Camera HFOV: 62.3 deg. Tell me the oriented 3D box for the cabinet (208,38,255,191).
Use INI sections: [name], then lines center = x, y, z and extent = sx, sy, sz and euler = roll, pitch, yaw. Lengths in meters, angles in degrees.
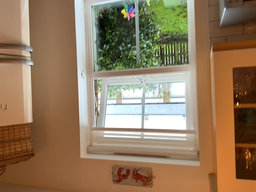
[cabinet]
center = 0.960, 0.110, 1.040
extent = 1.030, 0.790, 0.320
euler = -2, -179, 18
